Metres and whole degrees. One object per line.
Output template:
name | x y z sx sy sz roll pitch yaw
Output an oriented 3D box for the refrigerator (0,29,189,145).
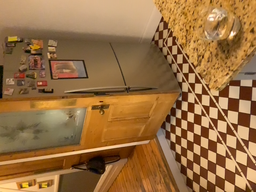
refrigerator | -0.370 -0.120 2.310 0.710 1.690 0.810 115 144 -47
